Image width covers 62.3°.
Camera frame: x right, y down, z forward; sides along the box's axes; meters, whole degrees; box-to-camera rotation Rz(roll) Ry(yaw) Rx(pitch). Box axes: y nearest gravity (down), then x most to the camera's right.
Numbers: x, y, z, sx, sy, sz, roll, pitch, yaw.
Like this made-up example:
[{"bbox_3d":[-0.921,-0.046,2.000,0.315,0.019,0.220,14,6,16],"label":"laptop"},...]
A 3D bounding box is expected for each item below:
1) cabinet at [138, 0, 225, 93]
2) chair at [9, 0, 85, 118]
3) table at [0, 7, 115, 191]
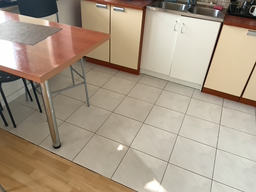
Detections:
[{"bbox_3d":[0.620,-0.630,2.590,0.780,0.850,0.520,18,37,17],"label":"cabinet"},{"bbox_3d":[-0.700,-0.360,1.940,0.370,0.970,0.470,-24,44,-34],"label":"chair"},{"bbox_3d":[-0.760,-0.020,1.480,1.160,0.930,0.590,18,37,17],"label":"table"}]
